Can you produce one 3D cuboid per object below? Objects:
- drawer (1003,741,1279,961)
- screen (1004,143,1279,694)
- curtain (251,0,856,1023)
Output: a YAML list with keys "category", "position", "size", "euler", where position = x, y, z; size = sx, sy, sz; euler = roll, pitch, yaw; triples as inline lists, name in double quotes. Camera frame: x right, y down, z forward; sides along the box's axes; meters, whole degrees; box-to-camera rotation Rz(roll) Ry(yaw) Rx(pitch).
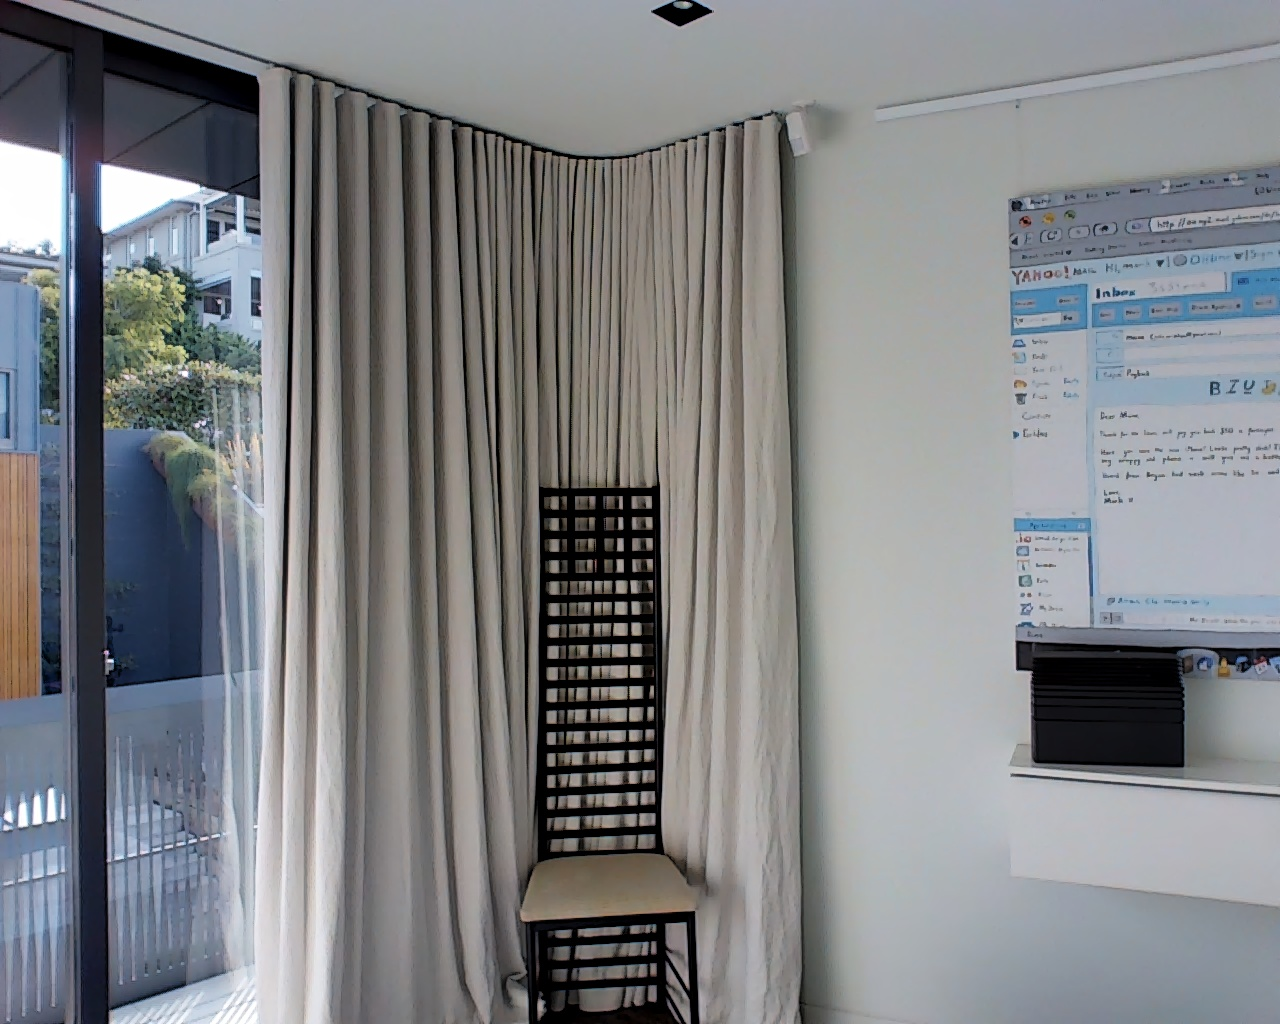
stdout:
- category: "drawer"
  position: [1.829, 0.810, 2.380]
  size: [1.910, 0.390, 0.290]
  euler: [-1, 0, 25]
- category: "screen"
  position: [1.749, -0.230, 2.560]
  size: [1.650, 1.340, 0.100]
  euler: [-1, 0, 26]
- category: "curtain"
  position: [-0.190, 0.210, 2.880]
  size: [0.910, 2.671, 1.340]
  euler: [-1, -1, 44]
